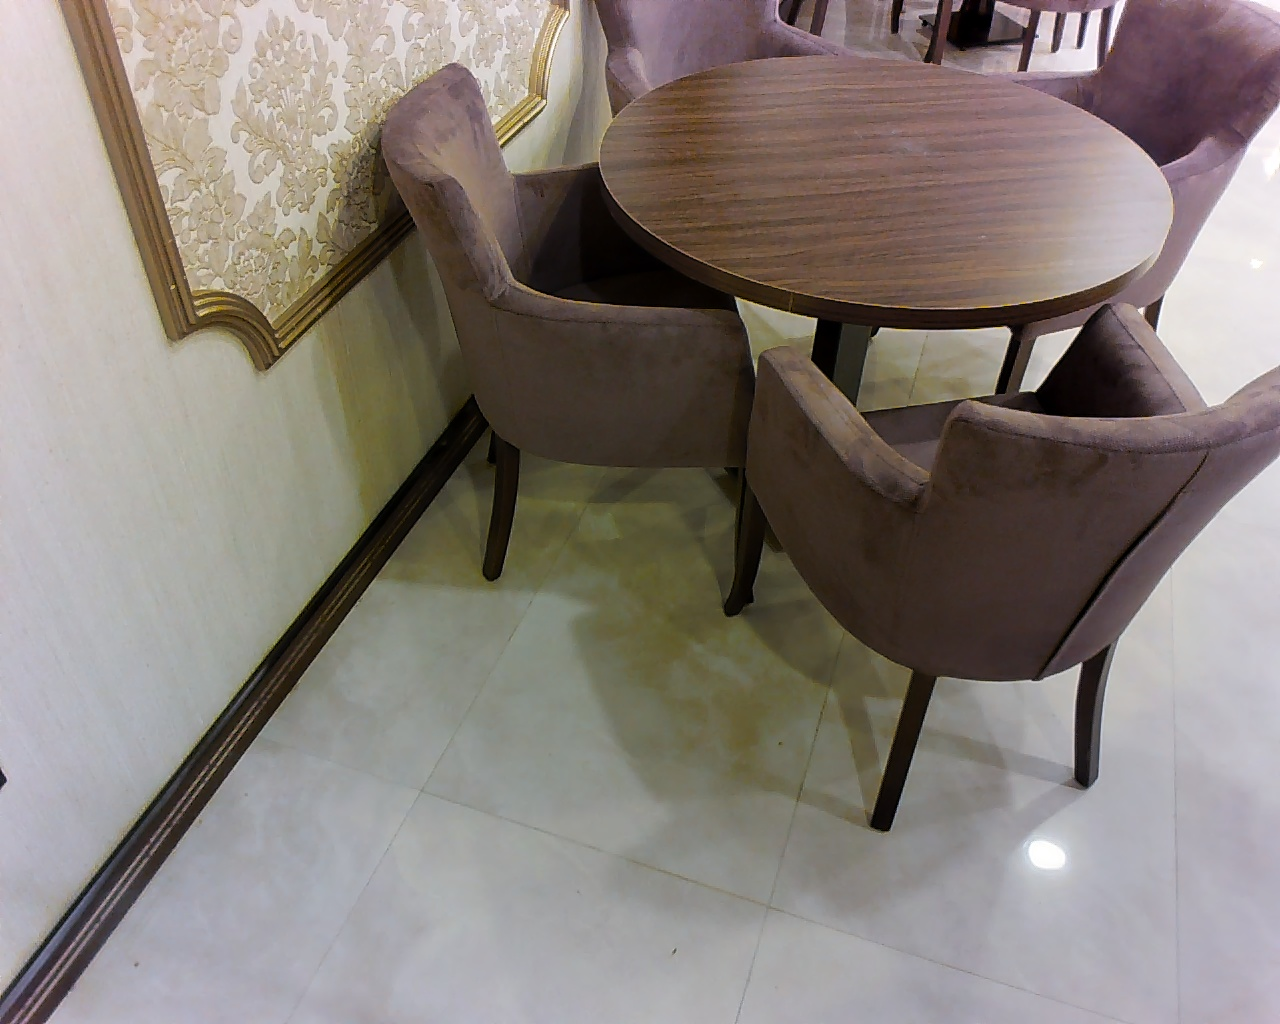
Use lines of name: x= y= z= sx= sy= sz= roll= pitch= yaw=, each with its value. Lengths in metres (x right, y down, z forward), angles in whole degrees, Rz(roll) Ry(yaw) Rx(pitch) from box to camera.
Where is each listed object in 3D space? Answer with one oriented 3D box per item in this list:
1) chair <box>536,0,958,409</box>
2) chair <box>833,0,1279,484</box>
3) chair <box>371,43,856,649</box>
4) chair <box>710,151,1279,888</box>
chair: x=0.210 y=-0.870 z=2.660 sx=0.690 sy=0.850 sz=0.680 roll=-18 pitch=45 yaw=-18
chair: x=0.950 y=-0.660 z=2.450 sx=0.710 sy=0.880 sz=0.630 roll=-11 pitch=44 yaw=-12
chair: x=-0.050 y=-0.310 z=2.040 sx=0.670 sy=0.870 sz=0.720 roll=-2 pitch=42 yaw=-2
chair: x=0.510 y=0.010 z=1.710 sx=0.660 sy=0.860 sz=0.740 roll=-4 pitch=43 yaw=-4
